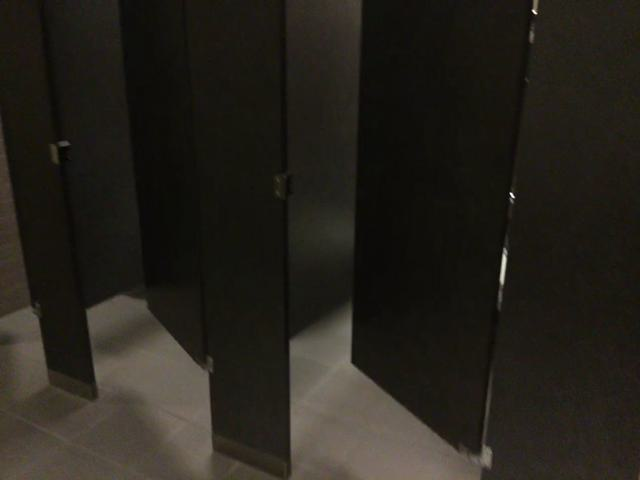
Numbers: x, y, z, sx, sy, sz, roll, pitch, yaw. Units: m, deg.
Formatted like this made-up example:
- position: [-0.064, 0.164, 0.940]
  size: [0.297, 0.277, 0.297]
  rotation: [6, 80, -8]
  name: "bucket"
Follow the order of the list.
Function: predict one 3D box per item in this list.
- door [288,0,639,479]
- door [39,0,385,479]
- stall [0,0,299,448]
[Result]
- position: [0.430, -0.140, 1.430]
  size: [0.940, 2.050, 0.390]
  rotation: [10, 21, 26]
  name: "door"
- position: [-0.340, -0.300, 1.810]
  size: [0.990, 2.070, 0.340]
  rotation: [10, 21, 26]
  name: "door"
- position: [-0.550, -0.400, 2.060]
  size: [0.730, 2.030, 0.620]
  rotation: [10, 21, 26]
  name: "stall"
